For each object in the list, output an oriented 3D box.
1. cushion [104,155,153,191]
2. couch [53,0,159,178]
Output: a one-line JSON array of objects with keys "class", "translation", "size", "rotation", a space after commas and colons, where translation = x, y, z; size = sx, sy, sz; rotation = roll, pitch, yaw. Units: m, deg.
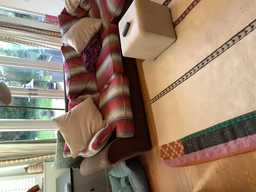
[{"class": "cushion", "translation": [0.000, 1.250, 2.600], "size": [0.810, 0.210, 0.870], "rotation": [-42, 51, 52]}, {"class": "couch", "translation": [-0.520, -0.470, 3.050], "size": [1.120, 0.820, 2.900], "rotation": [-41, 52, 52]}]
